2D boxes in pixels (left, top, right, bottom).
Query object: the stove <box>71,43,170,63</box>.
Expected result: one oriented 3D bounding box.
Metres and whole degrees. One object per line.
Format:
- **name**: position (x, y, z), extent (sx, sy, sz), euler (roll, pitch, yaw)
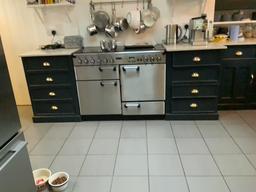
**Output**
- **stove**: position (-0.070, -0.560, 2.740), extent (1.150, 0.140, 0.570), euler (0, 20, 6)
